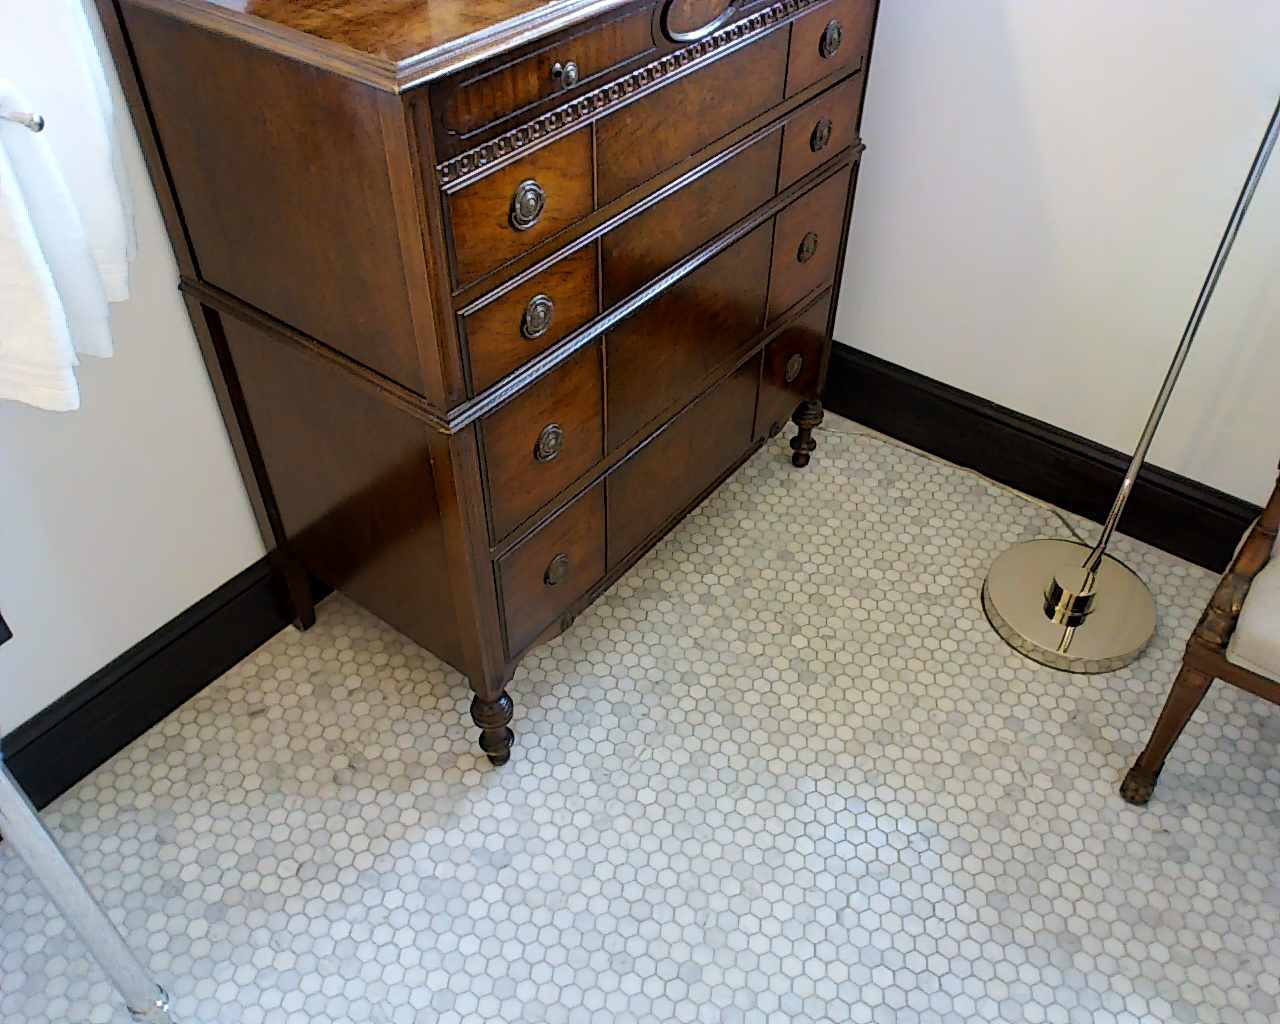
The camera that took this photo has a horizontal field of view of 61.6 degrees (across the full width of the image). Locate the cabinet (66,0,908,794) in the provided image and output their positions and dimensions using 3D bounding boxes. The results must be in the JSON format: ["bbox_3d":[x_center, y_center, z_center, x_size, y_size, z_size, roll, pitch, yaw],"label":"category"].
[{"bbox_3d":[-0.120,-0.370,1.790,0.570,1.160,1.060,27,49,26],"label":"cabinet"}]

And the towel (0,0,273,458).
[{"bbox_3d":[-0.640,-0.350,1.090,0.350,0.410,0.270,28,49,26],"label":"towel"}]
